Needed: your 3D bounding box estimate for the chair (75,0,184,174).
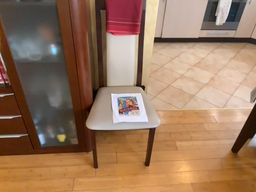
[{"bbox_3d":[-0.040,-0.040,1.440,0.460,1.020,0.610,0,38,-6],"label":"chair"}]
